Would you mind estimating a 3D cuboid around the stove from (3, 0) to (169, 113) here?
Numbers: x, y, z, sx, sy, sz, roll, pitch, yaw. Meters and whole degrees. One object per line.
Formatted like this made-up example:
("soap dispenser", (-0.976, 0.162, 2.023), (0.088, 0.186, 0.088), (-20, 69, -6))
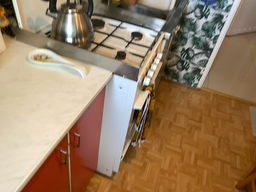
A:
("stove", (-0.170, -0.270, 1.150), (0.640, 0.230, 0.550), (19, 41, 10))
